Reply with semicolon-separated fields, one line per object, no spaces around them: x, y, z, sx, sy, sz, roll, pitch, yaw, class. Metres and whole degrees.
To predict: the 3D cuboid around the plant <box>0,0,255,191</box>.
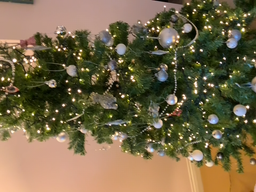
0.020;0.040;1.040;0.930;1.690;0.980;-14;81;63;plant
